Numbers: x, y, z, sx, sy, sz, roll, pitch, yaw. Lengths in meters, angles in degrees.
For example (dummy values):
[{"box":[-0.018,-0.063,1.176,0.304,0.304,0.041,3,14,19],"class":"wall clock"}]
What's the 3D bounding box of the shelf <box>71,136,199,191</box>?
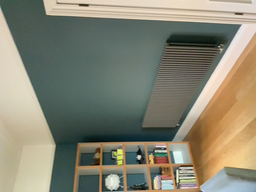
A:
[{"box":[0.090,1.300,3.860,0.460,2.070,0.980,100,168,-53],"class":"shelf"}]
